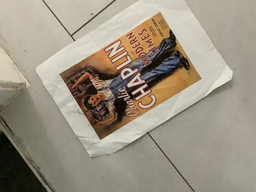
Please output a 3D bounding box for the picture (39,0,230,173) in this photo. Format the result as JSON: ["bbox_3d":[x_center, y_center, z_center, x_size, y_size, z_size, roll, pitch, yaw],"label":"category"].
[{"bbox_3d":[0.010,-0.020,0.380,0.280,0.001,0.200,-32,90,2],"label":"picture"}]
